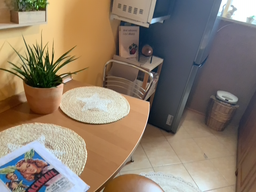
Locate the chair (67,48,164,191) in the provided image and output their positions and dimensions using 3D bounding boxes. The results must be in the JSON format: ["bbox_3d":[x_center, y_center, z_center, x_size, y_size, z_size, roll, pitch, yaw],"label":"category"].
[{"bbox_3d":[-0.110,0.180,1.500,0.400,0.870,0.440,22,31,17],"label":"chair"}]

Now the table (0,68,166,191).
[{"bbox_3d":[-0.310,0.420,1.130,0.610,0.760,0.880,22,31,17],"label":"table"}]

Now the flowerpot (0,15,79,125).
[{"bbox_3d":[-0.380,-0.120,0.930,0.220,0.390,0.210,22,31,18],"label":"flowerpot"}]
